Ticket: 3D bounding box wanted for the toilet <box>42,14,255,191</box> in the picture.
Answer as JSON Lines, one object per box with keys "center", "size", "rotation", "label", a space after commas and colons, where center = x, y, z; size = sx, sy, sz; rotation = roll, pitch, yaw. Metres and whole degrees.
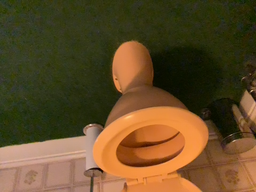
{"center": [0.110, 0.300, 0.750], "size": [0.540, 0.970, 0.680], "rotation": [-9, 138, -2], "label": "toilet"}
